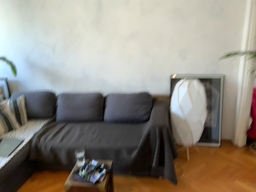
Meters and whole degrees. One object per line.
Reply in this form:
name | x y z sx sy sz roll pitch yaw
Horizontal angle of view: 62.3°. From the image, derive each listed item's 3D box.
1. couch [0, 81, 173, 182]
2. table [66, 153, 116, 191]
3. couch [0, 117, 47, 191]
couch | -0.660 0.360 2.940 2.420 0.860 1.080 2 17 8
table | -0.330 0.850 2.050 0.350 0.410 0.400 2 17 8
couch | -1.500 0.660 2.240 0.960 0.690 0.600 2 17 8
